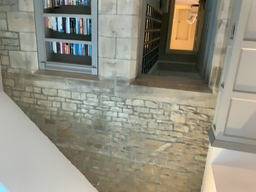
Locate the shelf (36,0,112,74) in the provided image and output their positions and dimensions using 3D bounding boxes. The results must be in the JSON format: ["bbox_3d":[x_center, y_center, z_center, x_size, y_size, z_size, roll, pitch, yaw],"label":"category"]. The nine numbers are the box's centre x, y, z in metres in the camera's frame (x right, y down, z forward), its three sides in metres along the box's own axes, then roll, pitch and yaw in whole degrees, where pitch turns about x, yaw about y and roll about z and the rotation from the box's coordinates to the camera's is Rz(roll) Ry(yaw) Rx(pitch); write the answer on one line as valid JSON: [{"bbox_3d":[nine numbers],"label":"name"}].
[{"bbox_3d":[-0.840,-1.480,3.360,1.070,2.100,0.450,8,-161,12],"label":"shelf"}]
